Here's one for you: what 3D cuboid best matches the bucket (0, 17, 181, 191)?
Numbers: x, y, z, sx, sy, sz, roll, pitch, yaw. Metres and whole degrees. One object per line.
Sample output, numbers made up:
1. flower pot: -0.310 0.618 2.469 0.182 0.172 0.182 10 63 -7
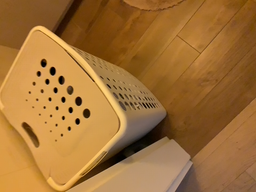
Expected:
1. bucket: -0.120 0.040 0.900 0.320 0.580 0.480 -47 71 17
